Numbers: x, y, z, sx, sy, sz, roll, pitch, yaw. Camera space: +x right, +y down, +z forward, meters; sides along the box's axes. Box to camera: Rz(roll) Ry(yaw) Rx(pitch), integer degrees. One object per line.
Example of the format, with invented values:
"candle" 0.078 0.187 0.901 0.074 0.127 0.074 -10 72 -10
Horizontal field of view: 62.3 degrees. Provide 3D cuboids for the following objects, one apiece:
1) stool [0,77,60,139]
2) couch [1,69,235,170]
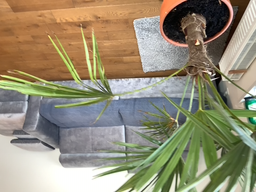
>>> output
"stool" -1.620 0.230 2.940 0.910 0.480 1.060 -2 155 4
"couch" -0.100 0.390 2.740 2.300 0.950 1.050 -2 155 4
